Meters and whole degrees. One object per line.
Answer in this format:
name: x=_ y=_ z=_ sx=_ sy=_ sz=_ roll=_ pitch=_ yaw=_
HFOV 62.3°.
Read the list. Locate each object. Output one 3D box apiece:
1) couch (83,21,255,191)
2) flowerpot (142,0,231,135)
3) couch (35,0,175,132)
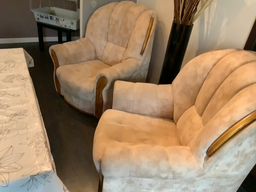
couch: x=0.270 y=0.180 z=1.380 sx=0.960 sy=0.990 sz=0.840 roll=6 pitch=32 yaw=-4
flowerpot: x=0.490 y=-0.610 z=1.710 sx=0.200 sy=1.990 sz=0.480 roll=-11 pitch=37 yaw=-28
couch: x=-0.250 y=-0.420 z=2.230 sx=0.880 sy=0.960 sz=0.960 roll=31 pitch=38 yaw=31
